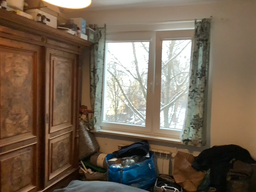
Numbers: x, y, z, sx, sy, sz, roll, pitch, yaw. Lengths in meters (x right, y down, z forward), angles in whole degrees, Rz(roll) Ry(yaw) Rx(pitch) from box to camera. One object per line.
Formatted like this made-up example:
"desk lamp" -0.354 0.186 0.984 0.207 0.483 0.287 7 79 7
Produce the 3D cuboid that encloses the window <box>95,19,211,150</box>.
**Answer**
"window" 0.270 -0.170 2.860 1.470 1.590 0.130 4 4 18
